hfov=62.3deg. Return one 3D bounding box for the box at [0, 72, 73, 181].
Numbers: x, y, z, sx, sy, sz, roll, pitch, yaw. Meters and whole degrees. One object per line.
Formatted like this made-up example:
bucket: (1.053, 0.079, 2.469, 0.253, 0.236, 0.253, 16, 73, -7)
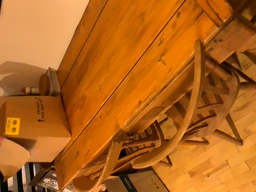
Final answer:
box: (-0.780, 0.230, 1.630, 0.500, 0.430, 0.600, -50, 51, 38)
